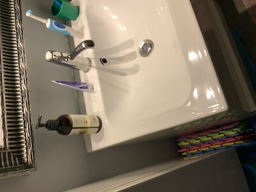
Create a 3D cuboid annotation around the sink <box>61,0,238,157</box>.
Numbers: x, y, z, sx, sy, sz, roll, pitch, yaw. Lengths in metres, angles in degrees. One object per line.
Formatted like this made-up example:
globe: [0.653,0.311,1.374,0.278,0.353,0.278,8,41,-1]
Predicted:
sink: [0.000,-0.160,0.730,0.480,0.120,0.630,-25,70,35]
